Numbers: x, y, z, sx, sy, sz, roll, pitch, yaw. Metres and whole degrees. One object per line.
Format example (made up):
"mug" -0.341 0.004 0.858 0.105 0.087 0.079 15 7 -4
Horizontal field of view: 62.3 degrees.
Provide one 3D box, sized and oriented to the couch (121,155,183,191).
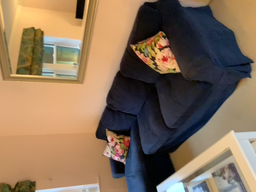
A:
"couch" 0.300 1.290 2.710 0.730 0.480 0.770 115 149 -47
